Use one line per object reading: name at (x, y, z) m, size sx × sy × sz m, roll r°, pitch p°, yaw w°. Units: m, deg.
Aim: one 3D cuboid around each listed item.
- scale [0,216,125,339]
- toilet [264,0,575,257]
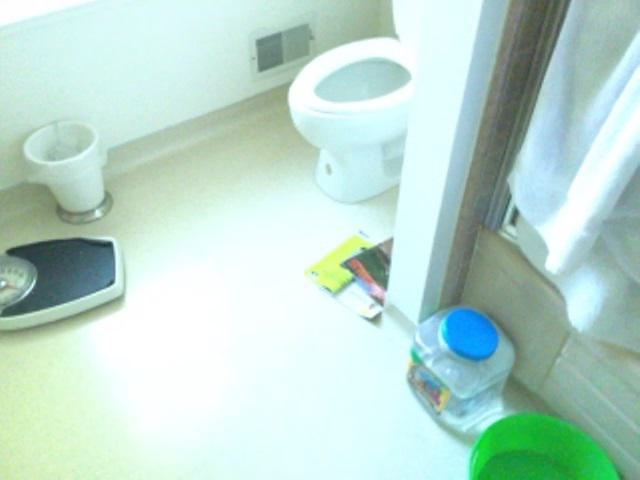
scale at (-0.820, 0.110, 1.680) m, size 0.470 × 0.070 × 0.340 m, roll -11°, pitch 46°, yaw -10°
toilet at (0.290, -0.510, 1.770) m, size 0.750 × 0.770 × 0.460 m, roll -27°, pitch 50°, yaw -23°
